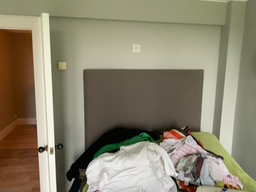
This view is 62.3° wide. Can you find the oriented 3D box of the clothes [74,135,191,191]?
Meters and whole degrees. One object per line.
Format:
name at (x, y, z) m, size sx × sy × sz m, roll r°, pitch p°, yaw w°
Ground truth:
clothes at (0.010, 0.520, 1.530) m, size 0.710 × 0.310 × 0.470 m, roll 0°, pitch 10°, yaw -6°
